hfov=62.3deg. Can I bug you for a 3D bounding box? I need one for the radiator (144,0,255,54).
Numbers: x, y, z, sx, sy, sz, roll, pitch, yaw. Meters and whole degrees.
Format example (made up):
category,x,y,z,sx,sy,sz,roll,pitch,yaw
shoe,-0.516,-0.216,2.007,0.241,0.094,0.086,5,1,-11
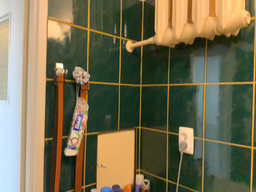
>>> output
category,x,y,z,sx,sy,sz,roll,pitch,yaw
radiator,0.320,-0.560,0.940,0.440,0.660,0.210,2,1,44
